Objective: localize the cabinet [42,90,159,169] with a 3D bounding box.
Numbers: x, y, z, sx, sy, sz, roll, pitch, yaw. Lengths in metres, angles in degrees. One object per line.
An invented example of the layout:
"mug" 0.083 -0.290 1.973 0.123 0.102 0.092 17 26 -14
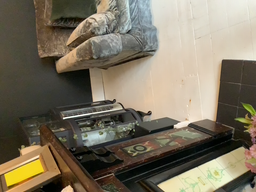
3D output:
"cabinet" -0.350 0.250 2.320 1.070 0.850 0.380 18 111 53

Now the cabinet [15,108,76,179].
"cabinet" -0.810 0.370 1.980 0.930 0.300 0.270 18 111 53
